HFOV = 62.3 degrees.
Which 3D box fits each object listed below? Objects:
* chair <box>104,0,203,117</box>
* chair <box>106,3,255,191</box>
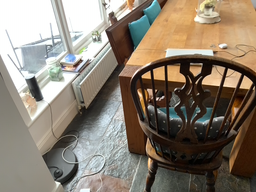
[{"bbox_3d":[0.410,-0.640,2.490,0.570,0.840,1.570,13,41,22],"label":"chair"},{"bbox_3d":[0.310,0.130,1.260,0.540,1.130,0.630,8,39,16],"label":"chair"}]
